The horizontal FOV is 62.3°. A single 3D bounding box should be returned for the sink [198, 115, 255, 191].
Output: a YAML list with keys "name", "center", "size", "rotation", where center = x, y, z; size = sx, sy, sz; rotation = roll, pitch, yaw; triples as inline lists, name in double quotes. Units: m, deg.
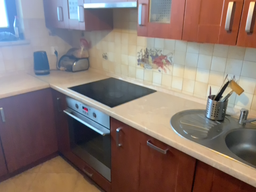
- name: "sink"
  center: [0.700, 0.330, 1.100]
  size: [0.460, 0.190, 0.460]
  rotation: [21, 28, 41]
